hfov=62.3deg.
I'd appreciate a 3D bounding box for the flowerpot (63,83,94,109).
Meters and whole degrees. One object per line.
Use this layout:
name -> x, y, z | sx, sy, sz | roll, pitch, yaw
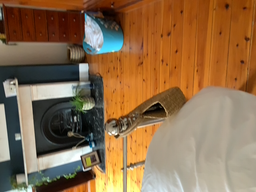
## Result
flowerpot -> -0.820, -0.010, 3.530 | 0.270, 0.410, 0.370 | 4, 99, 59
